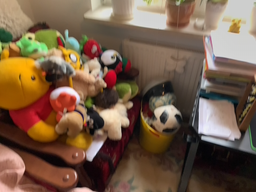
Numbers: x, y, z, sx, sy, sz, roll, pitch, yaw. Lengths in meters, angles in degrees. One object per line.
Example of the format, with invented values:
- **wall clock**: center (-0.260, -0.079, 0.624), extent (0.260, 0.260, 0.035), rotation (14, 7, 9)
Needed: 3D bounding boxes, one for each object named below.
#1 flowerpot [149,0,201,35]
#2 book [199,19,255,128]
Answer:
- **flowerpot**: center (0.350, -0.670, 1.520), extent (0.290, 0.300, 0.300), rotation (18, 44, 18)
- **book**: center (0.540, -0.160, 1.100), extent (0.260, 0.230, 0.610), rotation (11, 42, 12)
